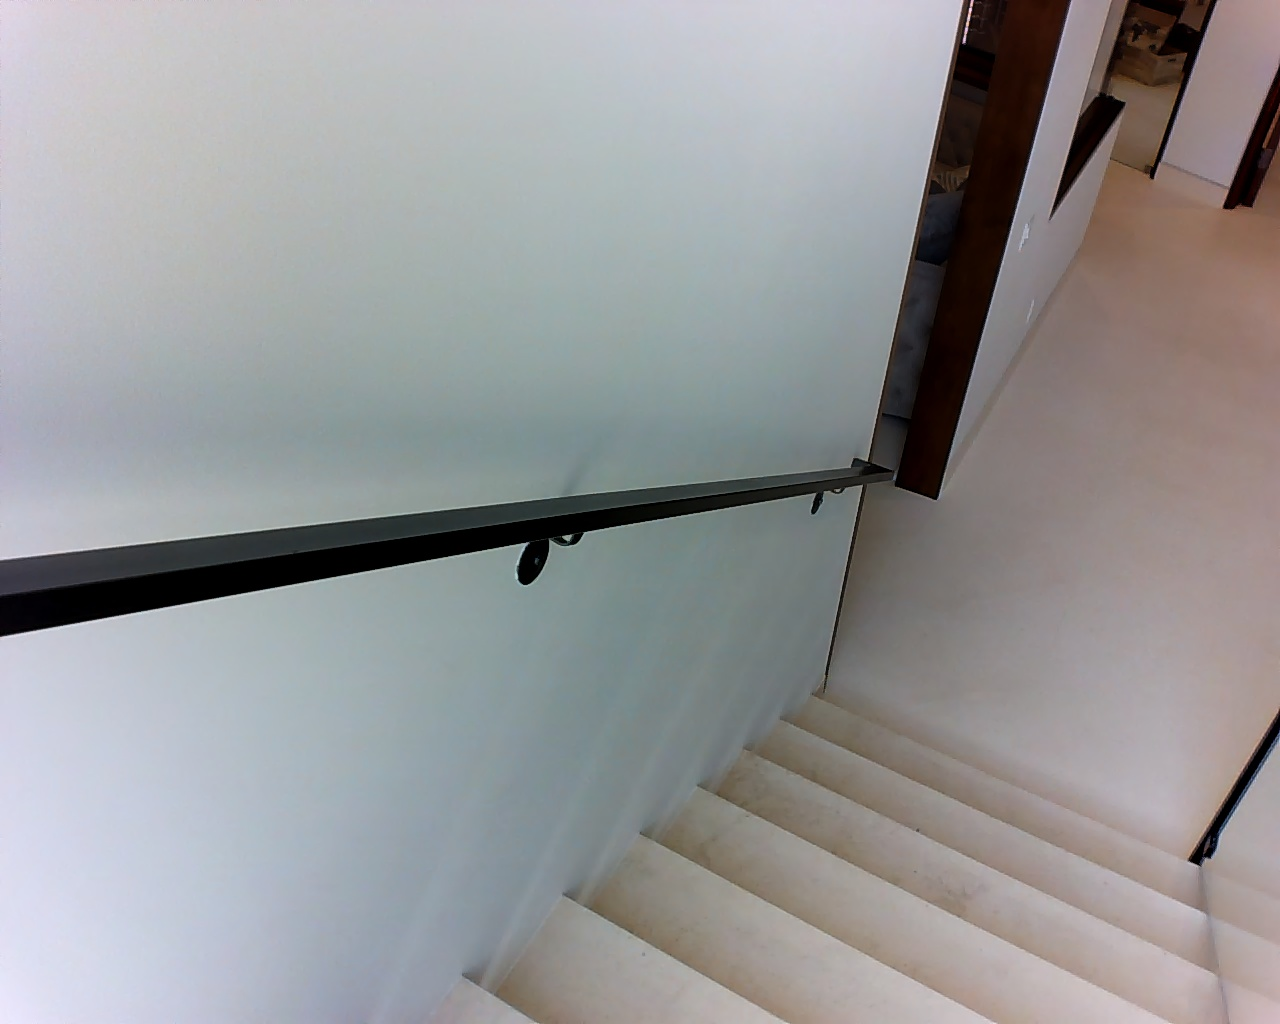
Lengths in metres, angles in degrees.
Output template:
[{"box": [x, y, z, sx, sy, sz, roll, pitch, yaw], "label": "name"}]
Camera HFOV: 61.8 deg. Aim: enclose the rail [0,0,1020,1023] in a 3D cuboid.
[{"box": [0.020, 0.010, 1.480, 0.130, 1.370, 2.420, 22, 44, 22], "label": "rail"}]
